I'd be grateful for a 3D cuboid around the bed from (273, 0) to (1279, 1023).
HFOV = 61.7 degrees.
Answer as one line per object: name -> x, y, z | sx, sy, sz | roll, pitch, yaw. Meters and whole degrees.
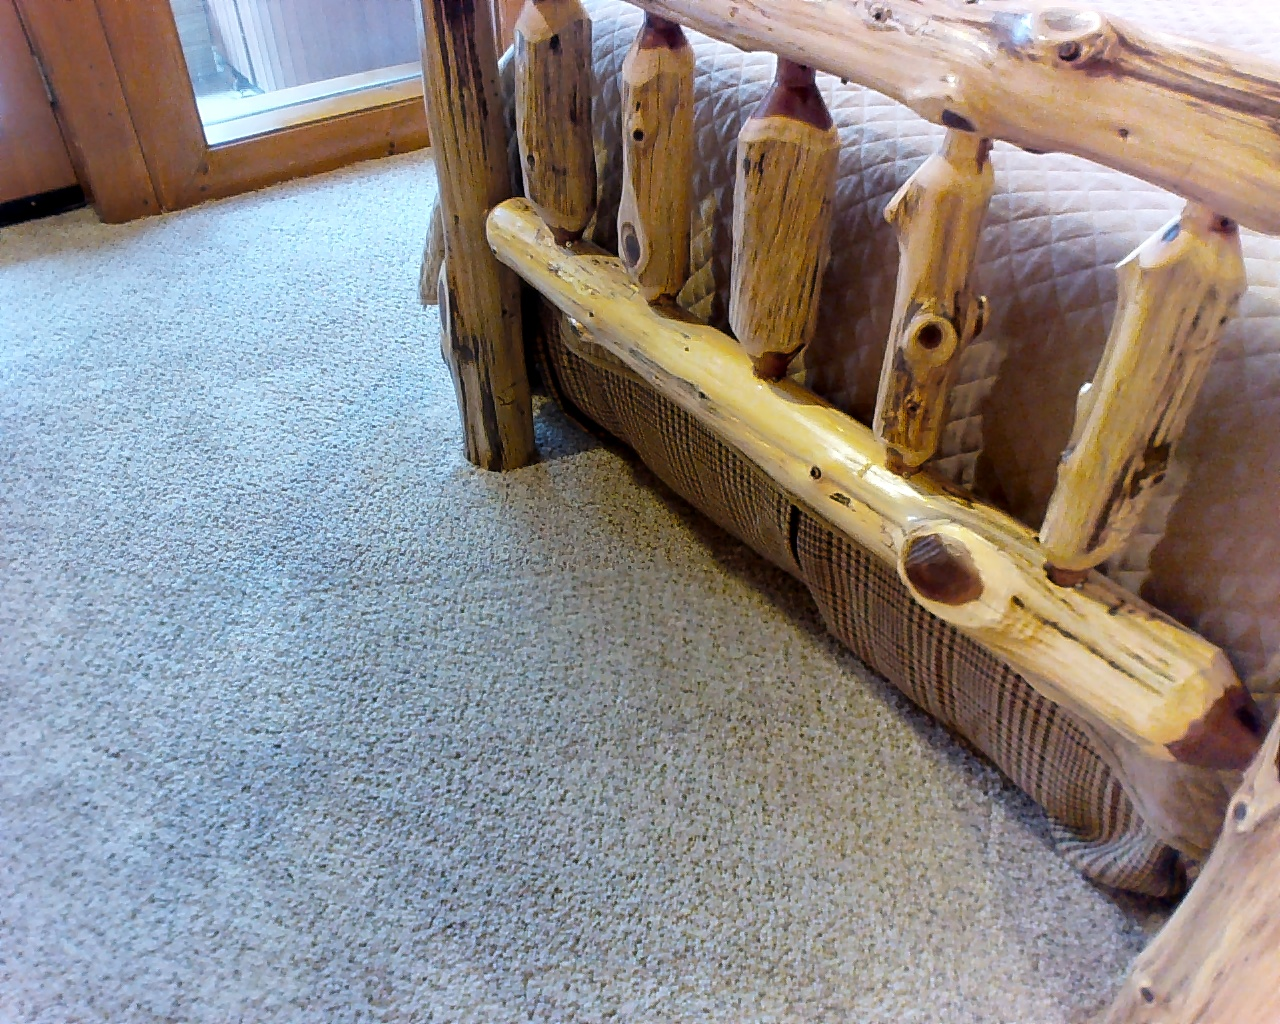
bed -> 0.090, -0.240, 1.290 | 0.340, 1.020, 1.750 | -25, 47, -26
